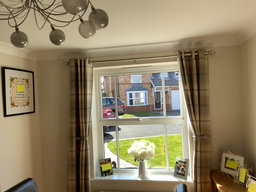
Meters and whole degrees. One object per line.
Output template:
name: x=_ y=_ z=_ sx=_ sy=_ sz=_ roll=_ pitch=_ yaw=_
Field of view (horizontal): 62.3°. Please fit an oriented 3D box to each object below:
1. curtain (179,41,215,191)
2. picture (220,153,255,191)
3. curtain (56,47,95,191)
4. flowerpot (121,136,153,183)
curtain: x=0.810 y=0.550 z=2.450 sx=0.320 sy=2.300 sz=0.110 roll=-2 pitch=1 yaw=19
picture: x=1.110 y=0.740 z=2.060 sx=0.280 sy=0.200 sz=0.560 roll=-3 pitch=1 yaw=13
curtain: x=-0.640 y=0.520 z=2.660 sx=0.300 sy=2.190 sz=0.250 roll=-2 pitch=1 yaw=20
flowerpot: x=0.130 y=0.820 z=2.790 sx=0.350 sy=0.520 sz=0.290 roll=-2 pitch=1 yaw=14
